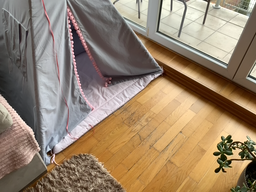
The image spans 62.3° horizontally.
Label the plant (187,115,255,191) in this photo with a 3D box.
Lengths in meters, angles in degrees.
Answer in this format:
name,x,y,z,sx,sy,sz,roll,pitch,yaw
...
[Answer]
name,x,y,z,sx,sy,sz,roll,pitch,yaw
plant,0.690,0.380,1.120,0.540,0.360,0.390,-20,52,-18
